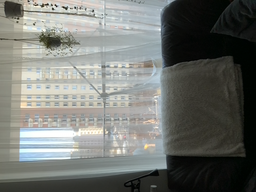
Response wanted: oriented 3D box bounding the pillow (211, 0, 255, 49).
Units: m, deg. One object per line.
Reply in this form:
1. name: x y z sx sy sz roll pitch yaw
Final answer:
1. pillow: 0.760 -0.450 1.330 0.430 0.340 0.190 14 -104 -83
